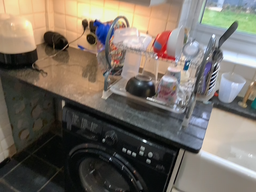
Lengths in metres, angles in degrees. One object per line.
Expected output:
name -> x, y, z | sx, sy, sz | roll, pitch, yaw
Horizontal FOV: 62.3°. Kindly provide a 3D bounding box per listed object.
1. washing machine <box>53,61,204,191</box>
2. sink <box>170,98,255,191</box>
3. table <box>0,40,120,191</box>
washing machine -> 0.010, 0.360, 1.390 | 0.600, 0.890, 0.670 | 20, 33, 20
sink -> 0.570, 0.310, 1.000 | 0.580, 0.280, 0.430 | 20, 33, 20
table -> -0.520, 0.140, 1.630 | 0.630, 0.890, 0.590 | 20, 33, 20
